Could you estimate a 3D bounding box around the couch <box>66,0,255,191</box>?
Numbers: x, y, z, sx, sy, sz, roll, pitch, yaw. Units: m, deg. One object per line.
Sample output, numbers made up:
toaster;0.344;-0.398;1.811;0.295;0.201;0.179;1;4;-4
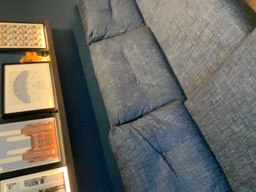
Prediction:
couch;0.270;-0.330;1.530;0.990;0.890;2.630;-56;44;44
